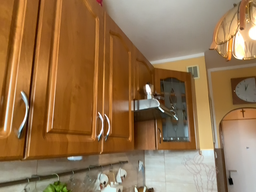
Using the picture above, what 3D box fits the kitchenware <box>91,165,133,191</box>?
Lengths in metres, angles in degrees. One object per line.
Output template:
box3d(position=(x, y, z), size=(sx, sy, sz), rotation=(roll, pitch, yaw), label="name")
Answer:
box3d(position=(-0.100, 0.640, 1.520), size=(0.120, 0.240, 0.430), rotation=(-5, -14, 22), label="kitchenware")
